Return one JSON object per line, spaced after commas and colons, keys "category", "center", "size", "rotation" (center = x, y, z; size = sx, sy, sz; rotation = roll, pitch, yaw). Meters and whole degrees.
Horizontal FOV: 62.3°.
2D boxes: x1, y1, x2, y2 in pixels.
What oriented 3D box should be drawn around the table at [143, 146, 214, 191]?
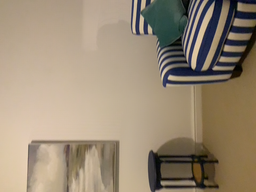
{"category": "table", "center": [0.500, 0.740, 2.220], "size": [0.370, 0.630, 0.380], "rotation": [135, 136, -83]}
